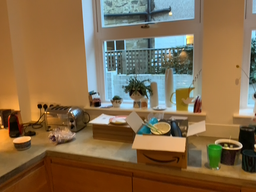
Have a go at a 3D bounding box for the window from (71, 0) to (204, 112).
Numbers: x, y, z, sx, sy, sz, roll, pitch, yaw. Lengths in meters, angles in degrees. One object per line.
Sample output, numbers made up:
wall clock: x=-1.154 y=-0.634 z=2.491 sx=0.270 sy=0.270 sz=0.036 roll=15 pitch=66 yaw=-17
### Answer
window: x=0.070 y=-0.660 z=2.070 sx=1.250 sy=1.560 sz=0.260 roll=1 pitch=10 yaw=22
